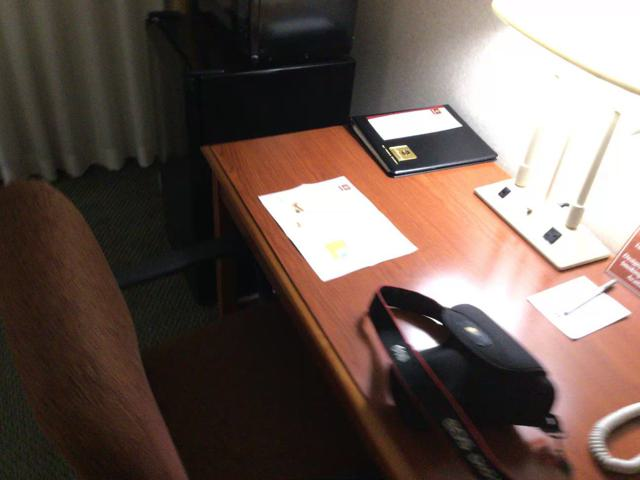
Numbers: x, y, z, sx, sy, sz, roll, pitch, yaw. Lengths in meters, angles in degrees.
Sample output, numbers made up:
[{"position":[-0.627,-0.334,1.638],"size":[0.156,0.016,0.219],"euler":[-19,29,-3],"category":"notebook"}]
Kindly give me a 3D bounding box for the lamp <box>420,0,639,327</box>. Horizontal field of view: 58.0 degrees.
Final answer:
[{"position":[0.460,-0.260,0.980],"size":[0.250,0.640,0.450],"euler":[-12,42,-22],"category":"lamp"}]
